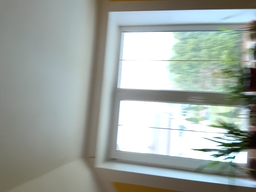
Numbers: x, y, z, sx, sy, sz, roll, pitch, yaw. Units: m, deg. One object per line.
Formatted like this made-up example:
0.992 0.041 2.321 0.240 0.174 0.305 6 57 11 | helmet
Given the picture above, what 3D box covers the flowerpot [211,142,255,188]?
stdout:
0.990 0.580 1.820 0.340 0.450 0.310 44 -130 -76 | flowerpot
